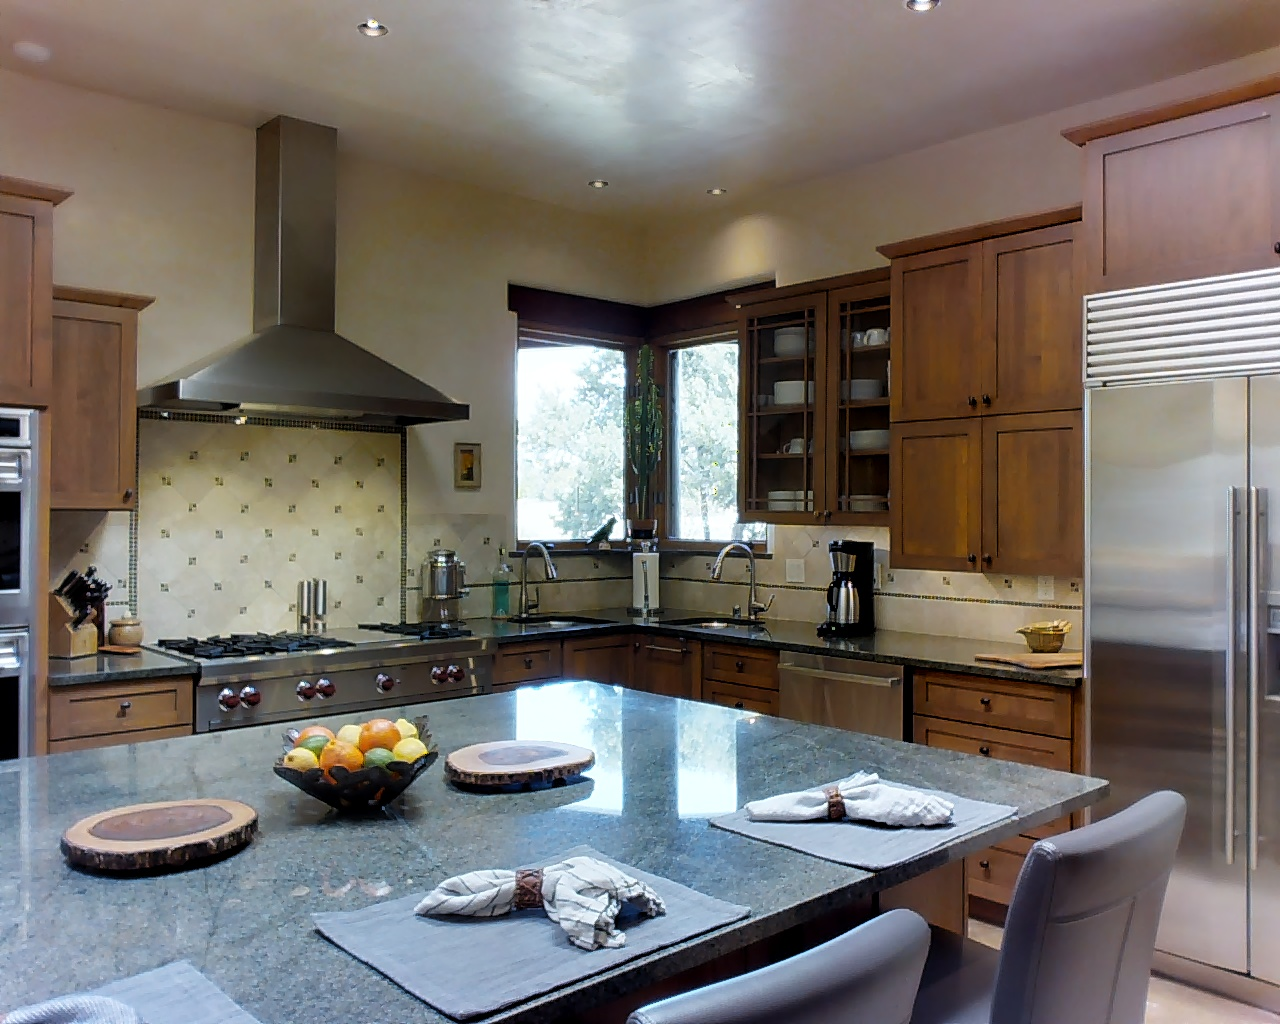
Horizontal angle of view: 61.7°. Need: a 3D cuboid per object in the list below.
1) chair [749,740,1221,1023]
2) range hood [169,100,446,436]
[{"bbox_3d":[0.560,0.940,1.770,0.500,0.970,0.570,1,-1,-42],"label":"chair"},{"bbox_3d":[-1.370,-0.950,4.510,1.040,1.180,0.380,1,-1,-43],"label":"range hood"}]
